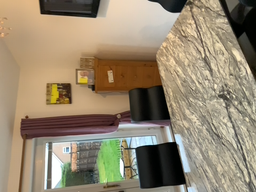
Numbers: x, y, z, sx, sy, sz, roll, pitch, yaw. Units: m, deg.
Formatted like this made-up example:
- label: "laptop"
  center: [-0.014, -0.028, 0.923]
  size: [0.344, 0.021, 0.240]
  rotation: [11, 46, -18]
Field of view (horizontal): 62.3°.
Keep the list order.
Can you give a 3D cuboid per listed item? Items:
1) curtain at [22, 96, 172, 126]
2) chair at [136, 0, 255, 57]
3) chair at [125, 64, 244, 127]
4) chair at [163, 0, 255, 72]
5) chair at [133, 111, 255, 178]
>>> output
- label: "curtain"
  center: [-0.400, 0.210, 3.320]
  size: [0.290, 2.220, 0.360]
  rotation: [-149, 60, -71]
- label: "chair"
  center: [0.640, -0.750, 1.910]
  size: [0.430, 0.980, 0.600]
  rotation: [121, 146, -60]
- label: "chair"
  center: [0.540, 0.020, 2.240]
  size: [0.600, 0.990, 0.370]
  rotation: [115, 150, -55]
- label: "chair"
  center: [0.820, -0.470, 1.300]
  size: [0.600, 0.980, 0.370]
  rotation: [119, 147, -59]
- label: "chair"
  center: [0.630, 0.450, 1.960]
  size: [0.600, 0.990, 0.370]
  rotation: [115, 150, -55]
